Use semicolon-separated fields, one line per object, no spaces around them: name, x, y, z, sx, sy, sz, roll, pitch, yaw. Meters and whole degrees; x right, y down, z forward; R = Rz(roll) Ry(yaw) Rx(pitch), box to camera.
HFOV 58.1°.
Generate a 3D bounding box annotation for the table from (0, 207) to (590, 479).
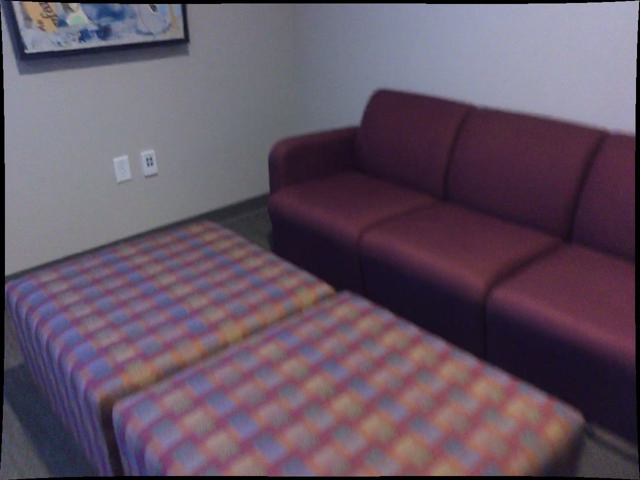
table;-0.220;0.451;1.600;0.769;0.461;1.519;-25;36;-38
